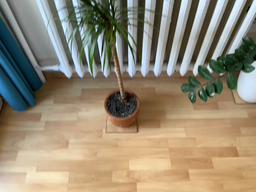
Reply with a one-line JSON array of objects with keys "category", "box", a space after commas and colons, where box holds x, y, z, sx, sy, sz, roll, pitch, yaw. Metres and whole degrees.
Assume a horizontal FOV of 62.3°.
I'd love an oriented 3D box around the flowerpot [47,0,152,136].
[{"category": "flowerpot", "box": [-0.090, -0.090, 1.080, 0.330, 0.820, 0.250, 4, 56, 2]}]
